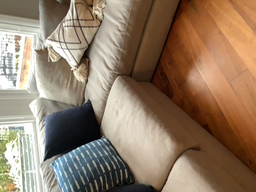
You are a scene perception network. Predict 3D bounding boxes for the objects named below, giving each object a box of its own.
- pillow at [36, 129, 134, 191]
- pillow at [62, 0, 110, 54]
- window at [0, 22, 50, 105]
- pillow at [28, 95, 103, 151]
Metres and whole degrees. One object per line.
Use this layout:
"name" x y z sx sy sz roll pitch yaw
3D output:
"pillow" -0.280 0.450 1.410 0.440 0.450 0.200 39 103 36
"pillow" -0.350 -0.670 1.720 0.220 0.410 0.460 -17 65 2
"window" -1.750 -0.370 2.270 0.260 1.640 0.920 32 117 52
"pillow" -0.520 0.240 1.790 0.440 0.440 0.180 40 98 33
